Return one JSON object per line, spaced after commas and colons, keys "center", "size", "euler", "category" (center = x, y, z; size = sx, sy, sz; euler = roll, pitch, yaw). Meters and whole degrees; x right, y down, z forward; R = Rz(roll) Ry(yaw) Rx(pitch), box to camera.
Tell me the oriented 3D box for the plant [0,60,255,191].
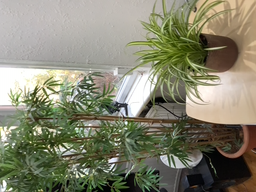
{"center": [0.080, 0.250, 1.190], "size": [0.500, 1.640, 0.640], "euler": [-109, 26, -46], "category": "plant"}
